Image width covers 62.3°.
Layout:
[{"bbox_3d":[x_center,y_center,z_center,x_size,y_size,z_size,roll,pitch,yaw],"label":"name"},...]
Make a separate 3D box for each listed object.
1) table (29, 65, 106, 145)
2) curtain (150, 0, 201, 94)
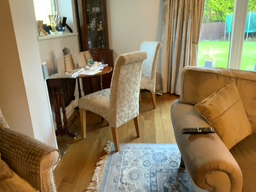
[{"bbox_3d":[-0.660,0.040,2.660,0.540,0.690,1.000,0,18,6],"label":"table"},{"bbox_3d":[0.770,-1.130,3.590,0.770,2.220,0.280,-1,19,3],"label":"curtain"}]
